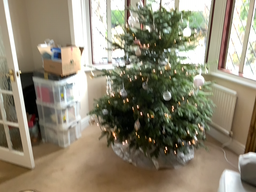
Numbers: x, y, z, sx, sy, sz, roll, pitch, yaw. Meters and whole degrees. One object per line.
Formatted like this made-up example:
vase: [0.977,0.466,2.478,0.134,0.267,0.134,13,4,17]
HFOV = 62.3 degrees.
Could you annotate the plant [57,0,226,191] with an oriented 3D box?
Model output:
plant: [0.220,-0.190,2.660,1.520,1.770,1.230,10,22,25]

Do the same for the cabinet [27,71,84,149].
cabinet: [-0.960,0.170,2.880,0.520,0.890,0.400,10,22,25]

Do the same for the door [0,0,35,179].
door: [-1.420,-0.120,2.190,0.770,2.070,0.080,9,21,22]
